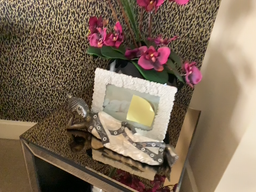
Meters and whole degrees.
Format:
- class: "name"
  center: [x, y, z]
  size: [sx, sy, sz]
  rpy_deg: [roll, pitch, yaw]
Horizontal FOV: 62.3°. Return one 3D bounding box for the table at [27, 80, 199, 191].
- class: "table"
  center: [-0.040, 0.290, 0.810]
  size: [0.410, 0.490, 0.400]
  rpy_deg: [20, 33, 20]
